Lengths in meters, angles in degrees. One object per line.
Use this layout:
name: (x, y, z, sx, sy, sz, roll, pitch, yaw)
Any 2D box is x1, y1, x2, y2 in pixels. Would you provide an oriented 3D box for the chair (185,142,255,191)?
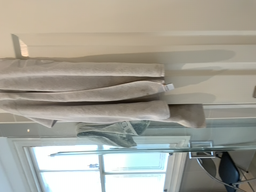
chair: (1.080, 0.810, 2.310, 0.420, 0.750, 0.410, -95, 4, -58)
